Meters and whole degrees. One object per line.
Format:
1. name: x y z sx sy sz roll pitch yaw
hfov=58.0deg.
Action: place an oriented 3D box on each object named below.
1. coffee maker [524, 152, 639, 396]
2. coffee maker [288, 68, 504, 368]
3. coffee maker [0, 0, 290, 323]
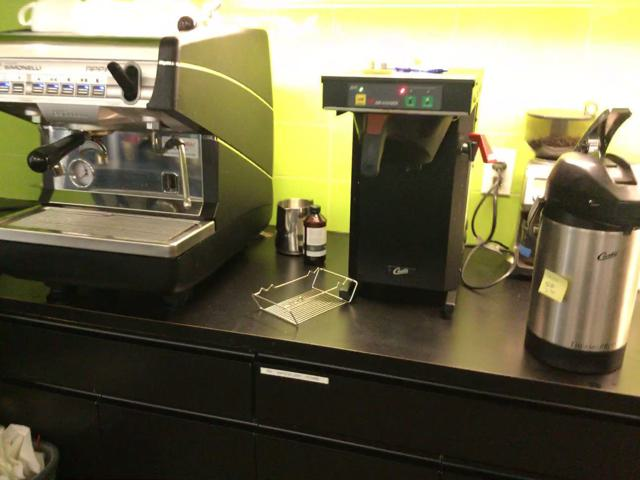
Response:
1. coffee maker: 0.420 0.040 0.900 0.170 0.330 0.180 3 16 17
2. coffee maker: 0.170 -0.080 1.090 0.310 0.450 0.430 3 16 17
3. coffee maker: -0.380 -0.210 1.180 0.440 0.530 0.580 3 16 17
